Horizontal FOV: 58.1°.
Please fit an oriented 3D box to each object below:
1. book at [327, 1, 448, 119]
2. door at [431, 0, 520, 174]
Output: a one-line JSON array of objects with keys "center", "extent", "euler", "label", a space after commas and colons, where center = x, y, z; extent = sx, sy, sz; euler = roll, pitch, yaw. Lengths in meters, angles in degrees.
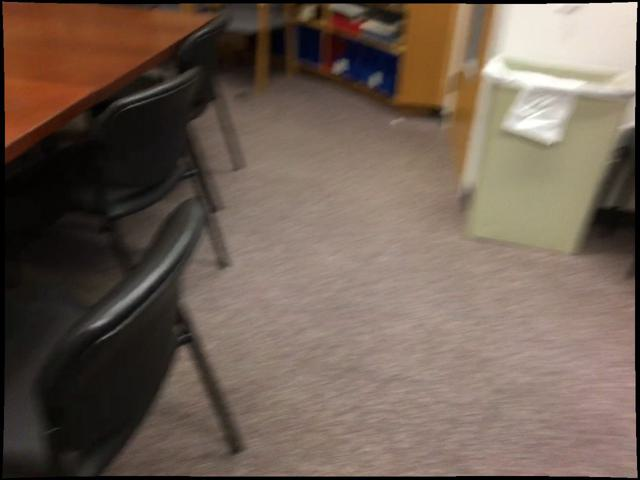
[{"center": [0.439, -1.263, 3.990], "extent": [0.330, 0.531, 0.740], "euler": [-22, 46, -34], "label": "book"}, {"center": [0.928, -1.474, 3.030], "extent": [0.090, 2.003, 1.031], "euler": [9, 32, -1], "label": "door"}]
